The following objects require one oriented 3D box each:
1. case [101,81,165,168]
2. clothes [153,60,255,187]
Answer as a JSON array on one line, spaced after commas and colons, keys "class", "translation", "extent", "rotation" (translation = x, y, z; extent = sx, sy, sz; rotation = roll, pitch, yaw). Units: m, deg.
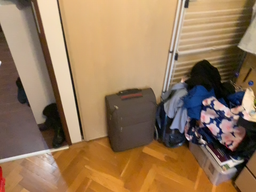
[{"class": "case", "translation": [0.020, 0.240, 1.720], "extent": [0.380, 0.610, 0.290], "rotation": [-11, 42, -15]}, {"class": "clothes", "translation": [0.600, 0.190, 1.670], "extent": [0.530, 0.630, 0.640], "rotation": [-11, 42, -15]}]
